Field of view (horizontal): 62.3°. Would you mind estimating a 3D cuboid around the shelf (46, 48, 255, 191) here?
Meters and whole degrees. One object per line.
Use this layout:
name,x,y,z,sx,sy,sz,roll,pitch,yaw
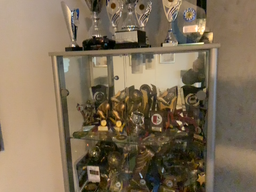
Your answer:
shelf,0.080,0.620,1.090,0.710,1.660,0.770,-7,13,-26
